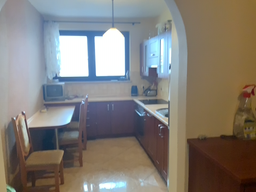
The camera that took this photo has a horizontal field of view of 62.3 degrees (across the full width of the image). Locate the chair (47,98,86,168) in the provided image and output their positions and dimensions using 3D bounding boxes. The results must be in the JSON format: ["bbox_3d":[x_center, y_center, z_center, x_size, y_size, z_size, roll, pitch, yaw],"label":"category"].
[{"bbox_3d":[-0.940,0.560,3.350,0.520,0.980,0.390,-2,9,-11],"label":"chair"}]

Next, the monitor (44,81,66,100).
[{"bbox_3d":[-1.480,-0.130,4.360,0.350,0.330,0.430,-2,9,-10],"label":"monitor"}]

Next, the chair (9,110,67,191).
[{"bbox_3d":[-1.040,0.690,2.550,0.500,0.950,0.420,-2,9,-9],"label":"chair"}]

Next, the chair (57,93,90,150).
[{"bbox_3d":[-1.010,0.460,4.030,0.530,0.980,0.420,-2,9,-10],"label":"chair"}]
